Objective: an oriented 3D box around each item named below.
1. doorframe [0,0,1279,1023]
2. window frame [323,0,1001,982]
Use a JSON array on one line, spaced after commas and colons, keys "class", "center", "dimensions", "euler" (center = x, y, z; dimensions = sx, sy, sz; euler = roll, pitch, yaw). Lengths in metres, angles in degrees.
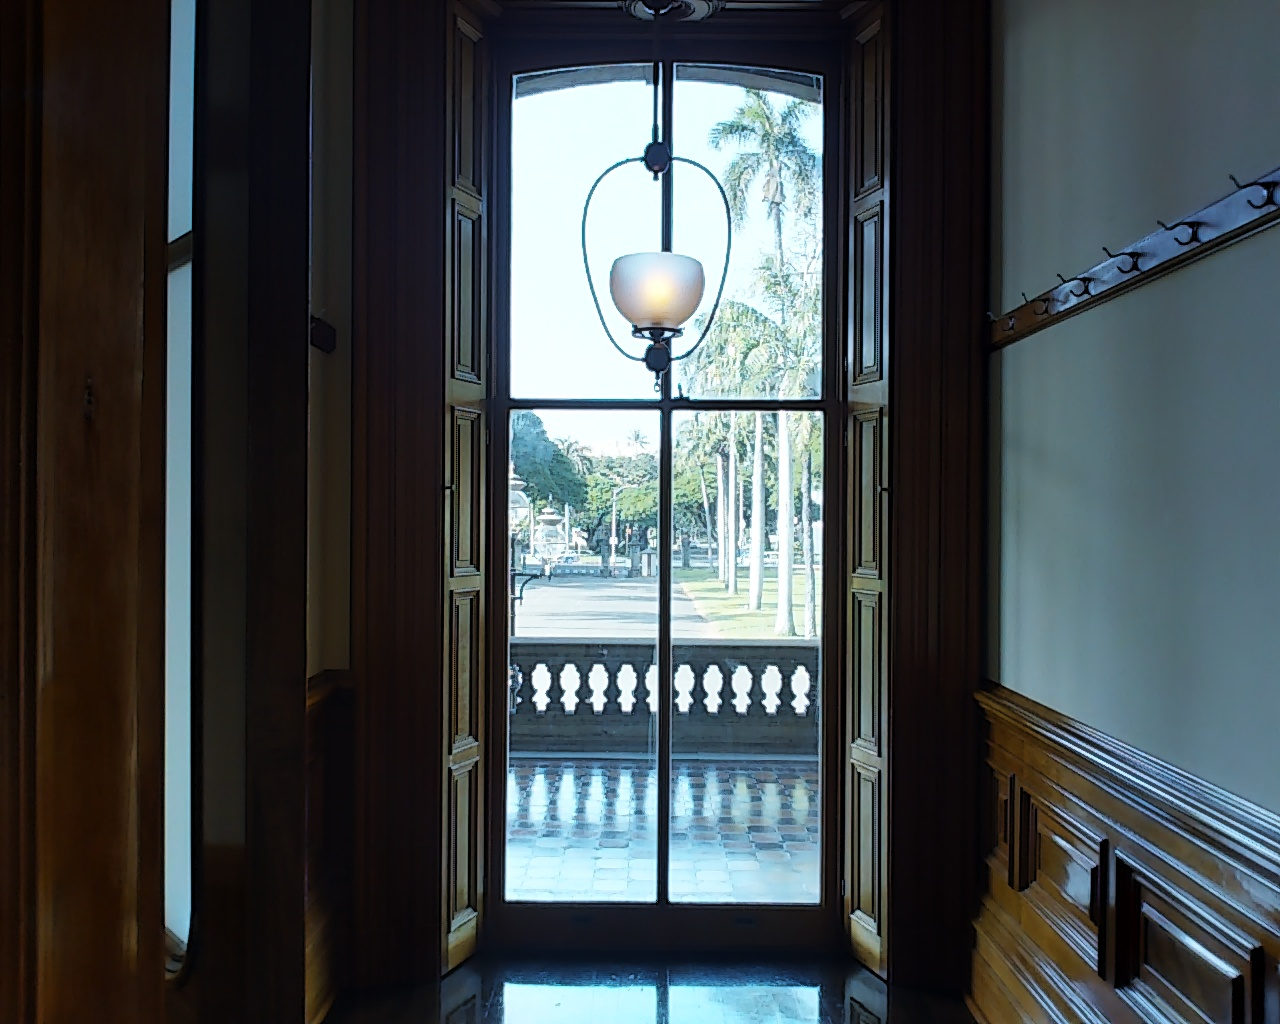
[{"class": "doorframe", "center": [0.100, 0.020, 0.800], "dimensions": [1.340, 3.030, 0.380], "euler": [1, 0, 0]}, {"class": "window frame", "center": [0.070, -0.310, 3.660], "dimensions": [2.220, 3.720, 0.180], "euler": [1, 0, 1]}]
